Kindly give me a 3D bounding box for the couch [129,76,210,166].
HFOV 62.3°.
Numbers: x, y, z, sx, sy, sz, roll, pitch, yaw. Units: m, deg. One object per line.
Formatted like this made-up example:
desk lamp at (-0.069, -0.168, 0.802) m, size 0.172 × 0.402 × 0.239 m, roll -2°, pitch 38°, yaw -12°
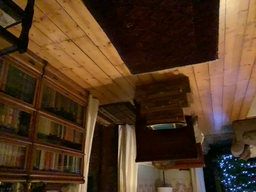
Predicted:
couch at (0.730, 0.540, 3.340) m, size 0.770 × 0.930 × 1.710 m, roll -11°, pitch 156°, yaw 22°
